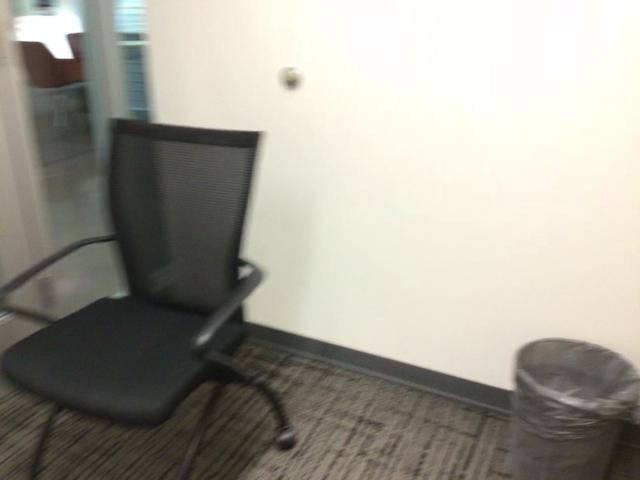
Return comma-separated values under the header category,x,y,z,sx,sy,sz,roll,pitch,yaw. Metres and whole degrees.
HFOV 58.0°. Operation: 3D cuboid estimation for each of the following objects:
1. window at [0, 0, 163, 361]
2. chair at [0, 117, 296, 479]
category,x,y,z,sx,sy,sz,roll,pitch,yaw
window,-0.850,-0.660,1.920,0.120,2.190,0.420,8,23,25
chair,-0.440,0.200,1.450,0.540,0.890,0.590,8,23,20
